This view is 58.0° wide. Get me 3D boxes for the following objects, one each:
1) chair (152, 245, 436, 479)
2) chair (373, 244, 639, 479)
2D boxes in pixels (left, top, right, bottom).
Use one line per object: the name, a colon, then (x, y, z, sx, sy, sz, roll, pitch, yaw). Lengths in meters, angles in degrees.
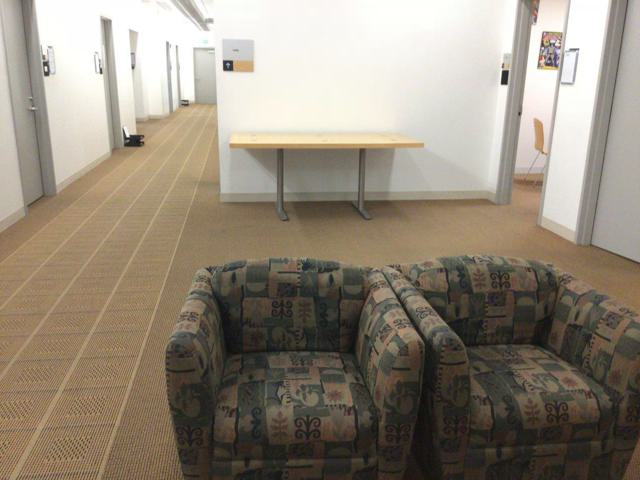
chair: (-0.090, 0.460, 2.000, 0.770, 0.720, 0.700, 0, 16, -3)
chair: (0.660, 0.450, 2.060, 0.820, 0.710, 0.680, 0, 16, -3)
